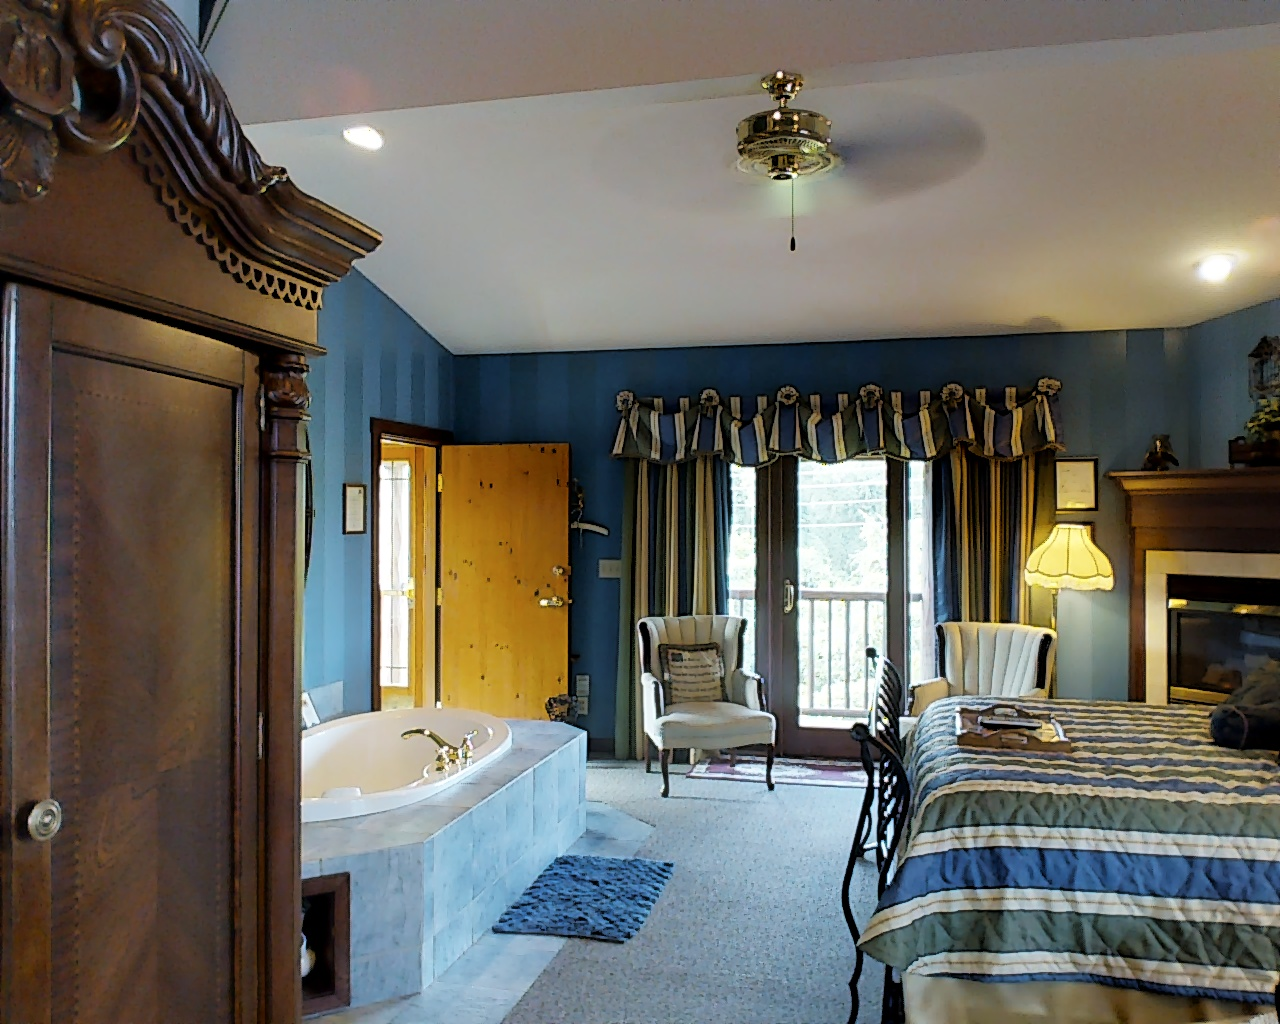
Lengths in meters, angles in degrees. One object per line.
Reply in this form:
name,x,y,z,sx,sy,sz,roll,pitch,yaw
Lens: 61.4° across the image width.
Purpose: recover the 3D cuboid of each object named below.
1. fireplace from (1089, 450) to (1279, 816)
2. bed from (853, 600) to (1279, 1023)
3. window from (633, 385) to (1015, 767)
fireplace,3.179,0.600,5.690,0.410,1.810,1.540,0,-1,-32
bed,2.020,0.970,3.650,2.469,1.150,2.170,0,-1,13
window,1.130,0.380,6.820,2.320,2.261,0.360,0,-1,13
